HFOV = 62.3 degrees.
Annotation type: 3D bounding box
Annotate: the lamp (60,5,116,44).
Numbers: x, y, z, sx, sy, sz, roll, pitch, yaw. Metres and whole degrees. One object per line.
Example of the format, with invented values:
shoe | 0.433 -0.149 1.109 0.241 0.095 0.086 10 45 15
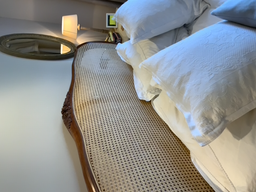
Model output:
lamp | -0.550 -0.960 2.850 0.330 0.670 0.330 -115 32 -51
